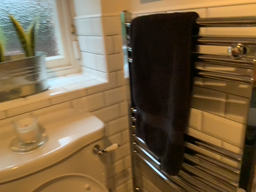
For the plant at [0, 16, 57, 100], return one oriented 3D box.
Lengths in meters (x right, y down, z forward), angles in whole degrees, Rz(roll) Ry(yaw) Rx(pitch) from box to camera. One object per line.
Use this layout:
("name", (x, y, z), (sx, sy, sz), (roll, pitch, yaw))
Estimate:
("plant", (-0.490, -0.150, 0.810), (0.320, 0.270, 0.220), (-18, 25, -33))
